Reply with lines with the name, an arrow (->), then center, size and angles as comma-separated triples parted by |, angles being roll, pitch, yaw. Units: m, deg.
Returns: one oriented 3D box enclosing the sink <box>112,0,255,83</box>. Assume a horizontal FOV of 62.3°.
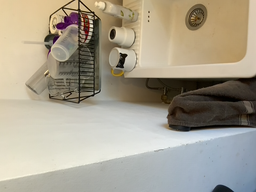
sink -> 0.230, -0.280, 0.950 | 0.730, 0.200, 0.400 | 9, 97, 51
